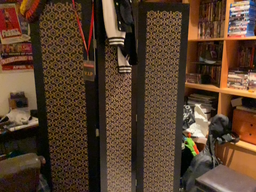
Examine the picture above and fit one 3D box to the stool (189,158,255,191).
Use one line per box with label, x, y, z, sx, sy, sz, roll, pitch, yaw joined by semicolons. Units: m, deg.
stool;0.830;0.870;1.830;0.420;0.410;0.420;-10;15;-34
